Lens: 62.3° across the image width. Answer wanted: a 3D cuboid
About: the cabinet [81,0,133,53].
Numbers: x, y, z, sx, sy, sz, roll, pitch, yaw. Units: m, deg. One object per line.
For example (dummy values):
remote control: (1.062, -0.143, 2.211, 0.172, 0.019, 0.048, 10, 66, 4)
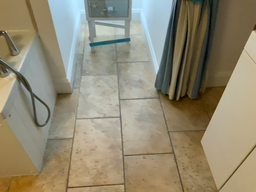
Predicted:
cabinet: (-0.180, -0.900, 1.880, 0.430, 1.000, 0.350, -1, 47, -3)
